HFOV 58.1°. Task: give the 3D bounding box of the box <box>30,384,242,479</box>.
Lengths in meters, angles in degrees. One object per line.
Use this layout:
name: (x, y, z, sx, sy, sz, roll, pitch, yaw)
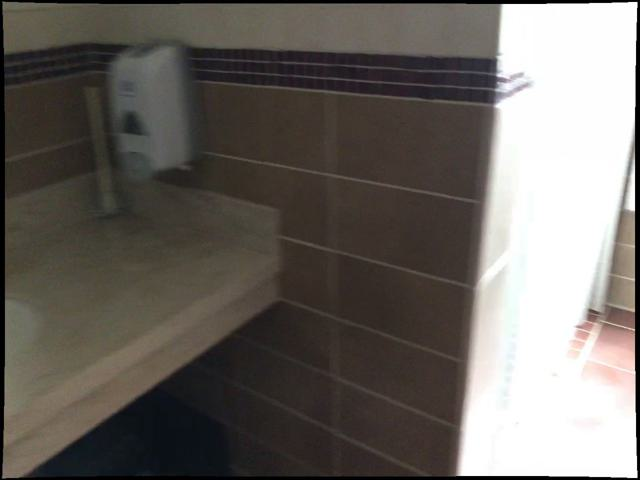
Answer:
box: (-0.489, 0.682, 1.600, 0.389, 0.281, 0.370, 14, 31, 32)
